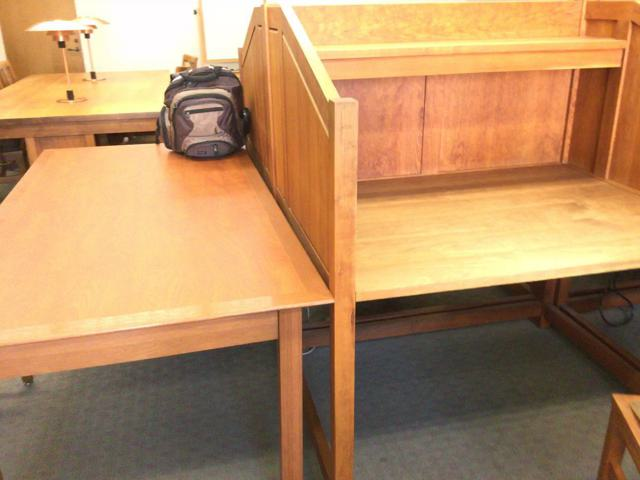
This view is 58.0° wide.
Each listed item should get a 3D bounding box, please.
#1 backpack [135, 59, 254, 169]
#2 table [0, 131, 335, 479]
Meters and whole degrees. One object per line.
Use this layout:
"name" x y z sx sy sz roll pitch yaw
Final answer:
"backpack" -0.540 -0.570 2.540 0.430 0.390 0.430 -6 21 -10
"table" -0.630 0.200 2.120 0.990 0.830 1.830 -6 21 -10
